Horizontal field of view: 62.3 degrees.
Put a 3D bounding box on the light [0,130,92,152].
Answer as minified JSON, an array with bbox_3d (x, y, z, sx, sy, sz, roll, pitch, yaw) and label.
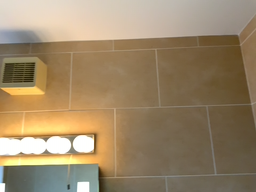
[{"bbox_3d":[-0.420,0.210,0.980,0.500,0.080,0.060,-2,-15,2],"label":"light"}]
